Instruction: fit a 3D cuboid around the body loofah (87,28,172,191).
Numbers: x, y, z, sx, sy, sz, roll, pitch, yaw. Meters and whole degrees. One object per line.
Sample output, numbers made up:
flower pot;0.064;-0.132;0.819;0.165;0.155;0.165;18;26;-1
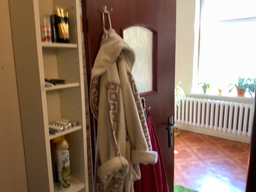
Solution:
body loofah;0.040;0.060;1.090;0.260;0.730;0.410;4;13;25

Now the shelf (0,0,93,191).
shelf;-0.310;0.430;0.970;0.180;2.010;0.230;7;14;37

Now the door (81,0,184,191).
door;0.110;0.350;1.340;0.170;2.010;0.770;6;14;34
